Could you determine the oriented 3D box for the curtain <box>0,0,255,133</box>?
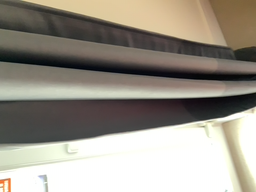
[{"bbox_3d":[-0.160,-0.080,0.560,0.270,2.450,0.280,-33,62,47],"label":"curtain"}]
